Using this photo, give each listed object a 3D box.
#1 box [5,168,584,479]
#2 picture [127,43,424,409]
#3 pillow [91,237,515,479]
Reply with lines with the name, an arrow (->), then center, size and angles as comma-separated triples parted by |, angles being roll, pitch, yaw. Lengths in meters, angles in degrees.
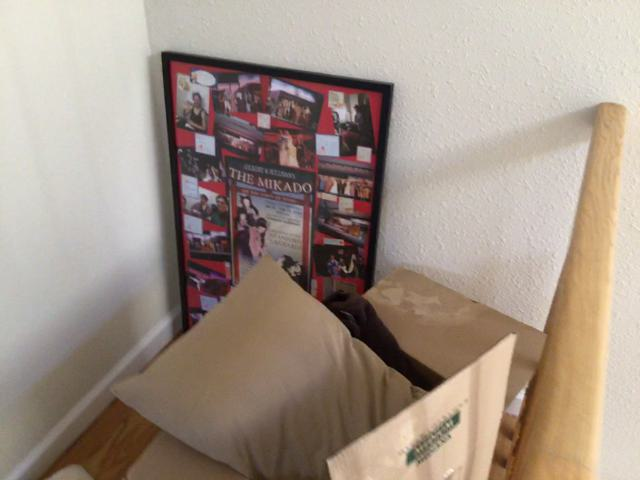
box -> 0.050, 0.410, 1.280 | 0.710, 0.660, 0.970 | 19, 36, 21
picture -> -0.150, -0.010, 1.670 | 0.730, 0.950, 0.150 | 16, 35, 17
pillow -> -0.020, 0.360, 1.230 | 0.670, 0.360, 0.500 | 19, 36, 21
